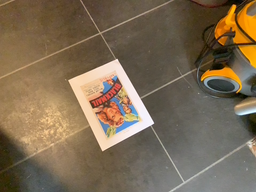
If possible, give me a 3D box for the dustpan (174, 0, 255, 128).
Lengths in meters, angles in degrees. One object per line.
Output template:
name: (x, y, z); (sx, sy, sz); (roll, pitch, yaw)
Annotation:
dustpan: (0.440, -0.170, 0.690); (0.370, 0.340, 0.380); (-21, 74, -8)
